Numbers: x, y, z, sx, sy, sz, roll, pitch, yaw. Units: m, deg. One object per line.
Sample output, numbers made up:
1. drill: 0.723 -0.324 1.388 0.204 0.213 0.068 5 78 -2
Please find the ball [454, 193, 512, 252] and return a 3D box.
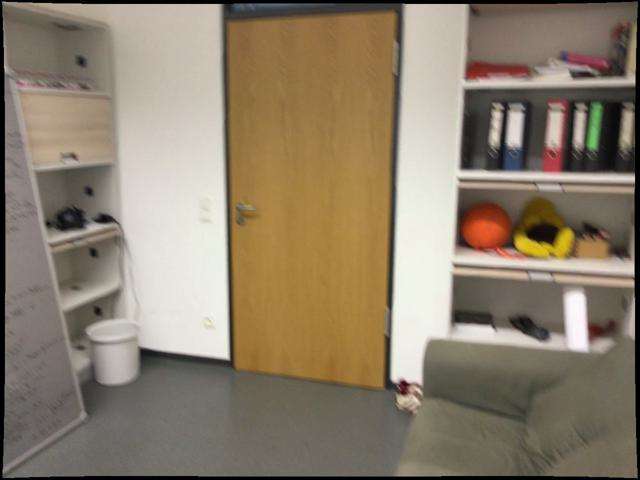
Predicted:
1. ball: 0.769 -0.090 2.720 0.230 0.230 0.240 4 12 21
